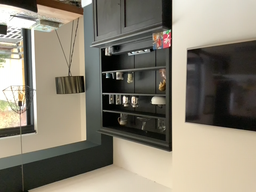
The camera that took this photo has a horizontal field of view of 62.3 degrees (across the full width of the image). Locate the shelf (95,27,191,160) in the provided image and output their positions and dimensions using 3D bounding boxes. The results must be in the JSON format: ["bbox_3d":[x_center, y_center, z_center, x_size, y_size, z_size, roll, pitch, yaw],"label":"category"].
[{"bbox_3d":[0.120,-0.050,2.930,0.390,1.420,1.450,-4,-175,-42],"label":"shelf"}]
